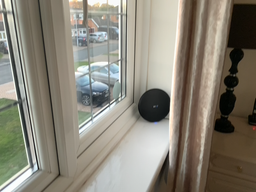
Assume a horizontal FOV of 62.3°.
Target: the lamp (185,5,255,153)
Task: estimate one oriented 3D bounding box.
[{"bbox_3d":[0.580,-0.130,1.240,0.330,0.720,0.440,10,23,23],"label":"lamp"}]
